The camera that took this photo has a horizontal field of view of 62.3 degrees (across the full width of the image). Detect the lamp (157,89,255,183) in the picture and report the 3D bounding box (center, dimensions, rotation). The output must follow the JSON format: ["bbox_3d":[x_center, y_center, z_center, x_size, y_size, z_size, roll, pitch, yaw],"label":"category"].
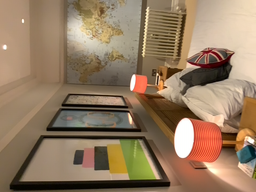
[{"bbox_3d":[0.480,0.220,1.320,0.370,0.460,0.450,-128,42,-75],"label":"lamp"}]

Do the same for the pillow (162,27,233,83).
[{"bbox_3d":[0.690,-0.440,2.200,0.320,0.450,0.470,57,180,-20],"label":"pillow"}]
